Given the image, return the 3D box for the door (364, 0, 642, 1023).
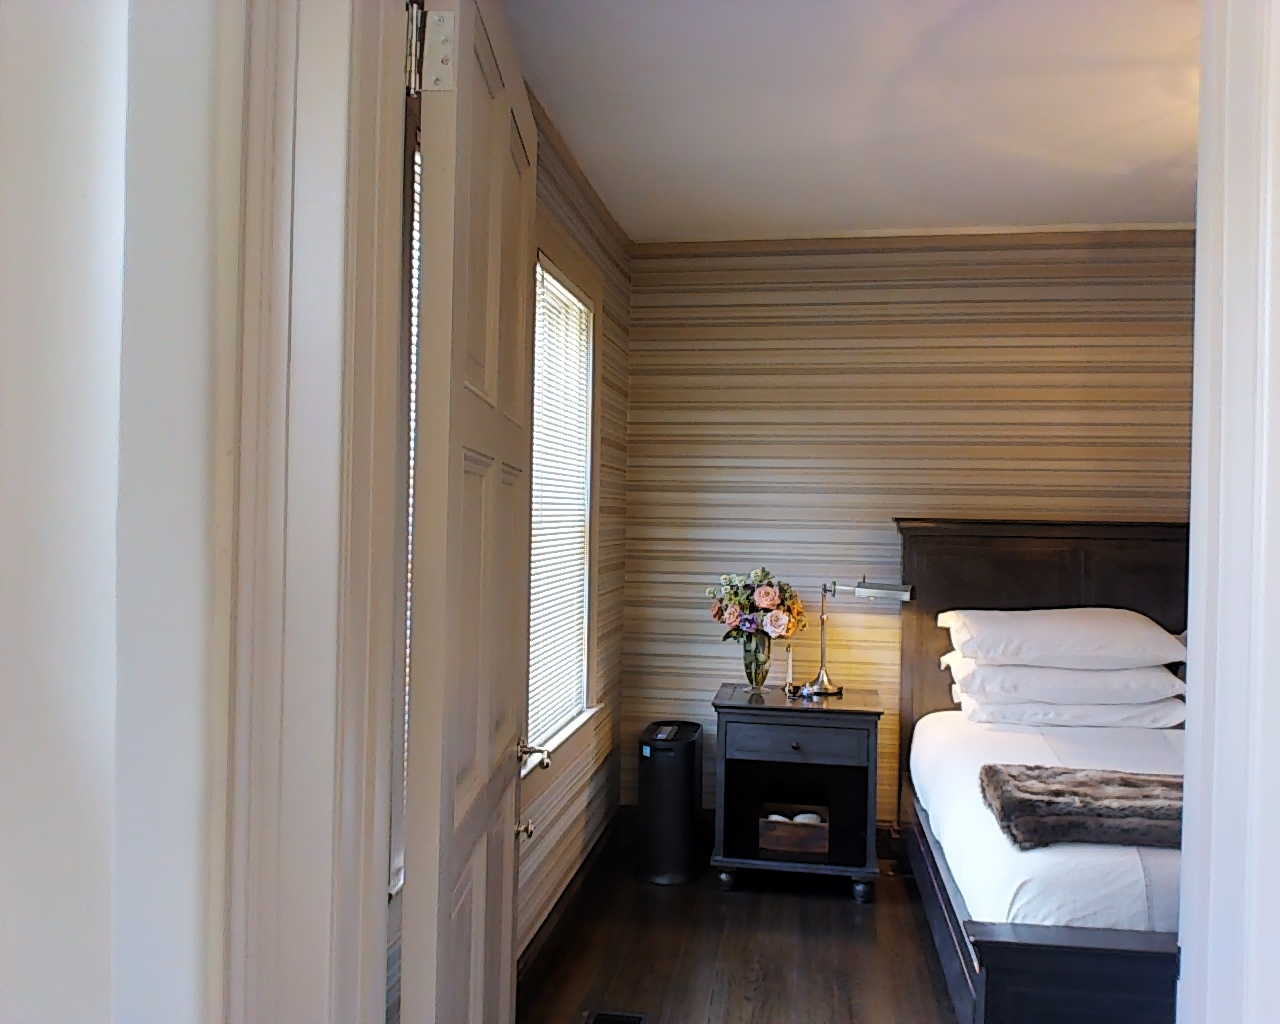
[{"bbox_3d":[-0.180,0.310,1.820,0.130,2.350,0.980,1,0,11],"label":"door"}]
